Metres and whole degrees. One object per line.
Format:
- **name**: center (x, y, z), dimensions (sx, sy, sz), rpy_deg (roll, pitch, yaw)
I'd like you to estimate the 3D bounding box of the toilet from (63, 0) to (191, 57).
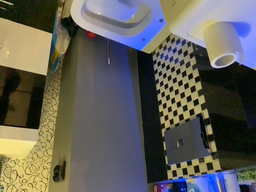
- **toilet**: center (-0.020, -0.530, 1.160), dimensions (0.530, 0.340, 0.390), rpy_deg (13, 150, -29)
